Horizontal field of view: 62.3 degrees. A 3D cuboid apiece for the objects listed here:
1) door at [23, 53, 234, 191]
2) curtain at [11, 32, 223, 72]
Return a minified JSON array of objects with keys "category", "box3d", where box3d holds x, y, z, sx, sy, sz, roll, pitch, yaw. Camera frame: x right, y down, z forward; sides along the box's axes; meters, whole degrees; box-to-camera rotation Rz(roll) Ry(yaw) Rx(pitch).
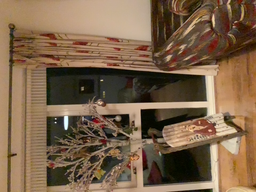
[{"category":"door","box3d":[0.050,0.410,2.200,0.090,2.120,1.710,147,121,-81]},{"category":"curtain","box3d":[-0.050,-0.440,2.160,0.090,2.100,0.360,141,127,-81]}]
